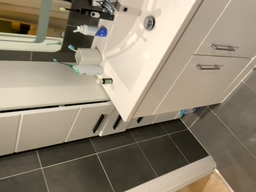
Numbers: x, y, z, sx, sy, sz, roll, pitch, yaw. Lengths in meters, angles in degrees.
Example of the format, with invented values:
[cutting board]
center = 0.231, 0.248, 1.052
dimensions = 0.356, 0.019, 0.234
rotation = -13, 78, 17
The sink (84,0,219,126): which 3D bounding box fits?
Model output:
[sink]
center = 0.050, -0.300, 0.900
dimensions = 0.450, 0.120, 0.770
rotation = 55, 134, 32
